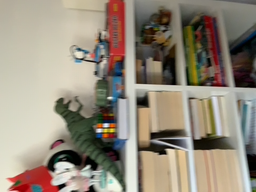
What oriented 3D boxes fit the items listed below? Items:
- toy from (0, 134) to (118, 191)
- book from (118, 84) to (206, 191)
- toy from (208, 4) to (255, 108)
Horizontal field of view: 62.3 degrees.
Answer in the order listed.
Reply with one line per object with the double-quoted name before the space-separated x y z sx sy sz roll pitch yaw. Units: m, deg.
"toy" -0.240 0.260 0.750 0.360 0.370 0.210 121 150 -72
"book" 0.090 0.190 0.820 0.390 0.210 0.350 120 151 -71
"toy" 0.550 -0.150 0.910 0.240 0.270 0.350 120 151 -71
